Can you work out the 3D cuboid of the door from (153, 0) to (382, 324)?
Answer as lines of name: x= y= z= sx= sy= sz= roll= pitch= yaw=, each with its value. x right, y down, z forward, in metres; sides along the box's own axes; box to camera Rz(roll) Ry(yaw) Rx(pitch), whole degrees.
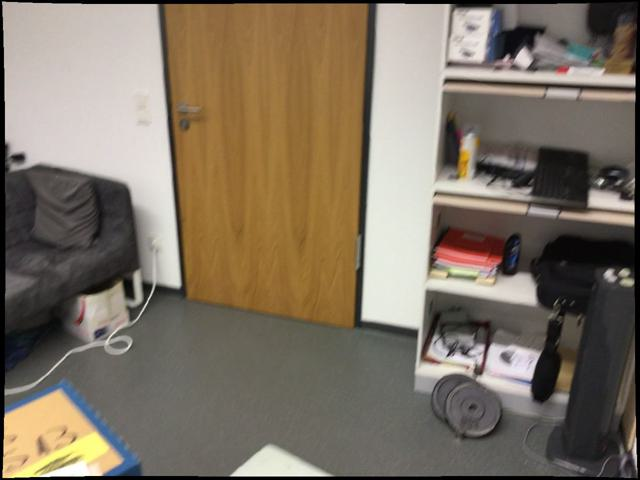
door: x=-0.230 y=-0.571 z=2.620 sx=0.989 sy=2.002 sz=0.100 roll=6 pitch=25 yaw=15

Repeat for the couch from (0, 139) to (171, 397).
couch: x=-1.588 y=0.100 z=2.710 sx=0.999 sy=0.751 sz=1.330 roll=14 pitch=28 yaw=30

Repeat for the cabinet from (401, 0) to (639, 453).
cabinet: x=0.809 y=-0.561 z=1.960 sx=0.859 sy=2.492 sz=0.690 roll=6 pitch=25 yaw=15
